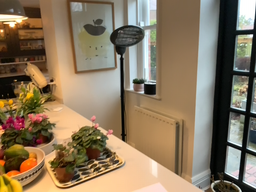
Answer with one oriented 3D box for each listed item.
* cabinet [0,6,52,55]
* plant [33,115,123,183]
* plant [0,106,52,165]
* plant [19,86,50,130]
[{"bbox_3d":[-2.760,-1.520,4.970,1.720,1.040,0.300,-11,17,-35],"label":"cabinet"},{"bbox_3d":[-0.250,0.250,1.130,0.270,0.150,0.370,11,19,39],"label":"plant"},{"bbox_3d":[-0.630,0.210,1.260,0.290,0.170,0.410,-5,15,-14],"label":"plant"},{"bbox_3d":[-0.700,0.080,1.590,0.160,0.270,0.180,-9,16,-29],"label":"plant"}]
